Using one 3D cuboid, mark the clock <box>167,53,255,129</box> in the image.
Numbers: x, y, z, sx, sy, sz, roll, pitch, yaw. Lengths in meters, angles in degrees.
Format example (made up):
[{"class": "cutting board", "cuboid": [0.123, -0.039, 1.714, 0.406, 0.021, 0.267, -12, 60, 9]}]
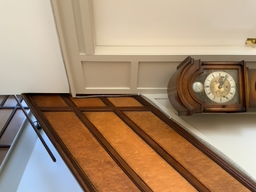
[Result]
[{"class": "clock", "cuboid": [0.950, -0.010, 1.210, 0.350, 1.370, 0.280, 93, 177, -57]}]
